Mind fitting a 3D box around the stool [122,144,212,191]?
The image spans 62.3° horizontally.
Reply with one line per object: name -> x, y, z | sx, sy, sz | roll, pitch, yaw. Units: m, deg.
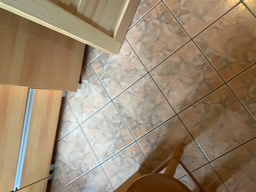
stool -> 0.190, 0.460, 0.980 | 0.300, 0.460, 0.310 | 12, 94, 23
